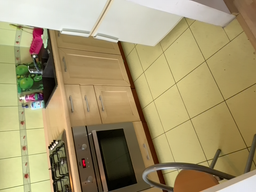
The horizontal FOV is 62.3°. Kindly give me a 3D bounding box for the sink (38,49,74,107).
[{"bbox_3d":[-0.740,-0.160,2.130,0.480,0.190,0.380,-41,58,48],"label":"sink"}]

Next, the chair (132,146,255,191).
[{"bbox_3d":[0.440,0.500,1.140,0.330,0.730,0.310,-34,63,51],"label":"chair"}]
